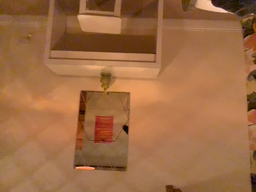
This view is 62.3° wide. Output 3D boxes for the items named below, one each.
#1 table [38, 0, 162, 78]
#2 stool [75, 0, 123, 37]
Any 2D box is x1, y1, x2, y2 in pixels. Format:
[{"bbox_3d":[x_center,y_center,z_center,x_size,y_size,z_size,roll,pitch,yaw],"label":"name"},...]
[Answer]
[{"bbox_3d":[-0.270,-0.670,2.420,1.240,0.790,0.440,2,171,2],"label":"table"},{"bbox_3d":[-0.260,-0.880,2.080,0.410,0.460,0.320,3,171,-2],"label":"stool"}]
